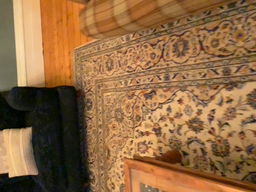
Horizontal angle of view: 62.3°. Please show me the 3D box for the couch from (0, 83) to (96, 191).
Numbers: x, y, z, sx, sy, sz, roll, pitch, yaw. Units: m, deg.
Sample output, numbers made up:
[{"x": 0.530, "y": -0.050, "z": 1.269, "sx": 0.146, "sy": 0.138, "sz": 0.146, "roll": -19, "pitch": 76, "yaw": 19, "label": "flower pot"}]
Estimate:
[{"x": -0.960, "y": 0.870, "z": 2.050, "sx": 1.050, "sy": 0.820, "sz": 1.920, "roll": -2, "pitch": 91, "yaw": 45, "label": "couch"}]
